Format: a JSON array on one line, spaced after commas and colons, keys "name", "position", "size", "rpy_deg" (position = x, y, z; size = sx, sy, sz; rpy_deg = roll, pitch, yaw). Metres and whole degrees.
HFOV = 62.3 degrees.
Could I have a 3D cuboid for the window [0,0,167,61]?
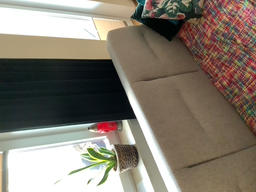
[{"name": "window", "position": [-0.770, -0.870, 2.560], "size": [0.980, 2.400, 0.240], "rpy_deg": [66, 147, 35]}]
